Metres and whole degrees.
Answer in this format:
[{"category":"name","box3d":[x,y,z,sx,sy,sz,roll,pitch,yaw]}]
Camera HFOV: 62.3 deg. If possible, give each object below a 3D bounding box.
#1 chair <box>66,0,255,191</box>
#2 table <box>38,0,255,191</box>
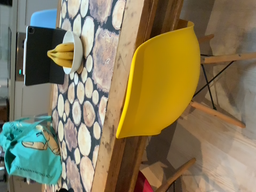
[{"category":"chair","box3d":[0.240,-0.060,0.870,0.520,0.800,0.430,40,123,49]},{"category":"table","box3d":[0.010,0.070,1.270,0.940,0.760,1.850,38,121,50]}]
